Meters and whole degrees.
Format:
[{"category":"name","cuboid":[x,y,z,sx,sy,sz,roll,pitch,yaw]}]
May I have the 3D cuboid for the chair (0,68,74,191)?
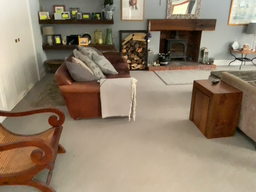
[{"category":"chair","cuboid":[-1.030,0.300,1.780,0.970,0.890,0.690,-2,22,-5]}]
